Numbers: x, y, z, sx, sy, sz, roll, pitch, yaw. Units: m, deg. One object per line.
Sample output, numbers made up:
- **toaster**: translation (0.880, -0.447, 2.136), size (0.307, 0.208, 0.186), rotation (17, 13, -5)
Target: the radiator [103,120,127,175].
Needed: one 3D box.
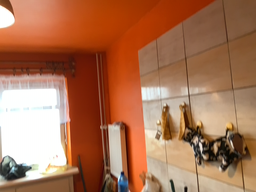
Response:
- **radiator**: translation (-0.170, 0.600, 2.590), size (0.090, 0.590, 0.440), rotation (-3, -3, -26)
